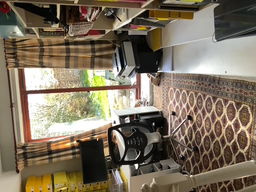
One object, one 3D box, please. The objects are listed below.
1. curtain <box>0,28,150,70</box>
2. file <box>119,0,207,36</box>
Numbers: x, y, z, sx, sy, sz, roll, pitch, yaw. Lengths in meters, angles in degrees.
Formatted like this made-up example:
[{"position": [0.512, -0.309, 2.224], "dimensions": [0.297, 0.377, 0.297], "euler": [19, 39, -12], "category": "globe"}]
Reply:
[{"position": [-0.790, -0.660, 3.070], "dimensions": [0.380, 2.240, 0.510], "euler": [-155, 63, -69], "category": "curtain"}, {"position": [0.230, -0.710, 1.810], "dimensions": [0.820, 0.400, 0.300], "euler": [-151, 60, -68], "category": "file"}]
